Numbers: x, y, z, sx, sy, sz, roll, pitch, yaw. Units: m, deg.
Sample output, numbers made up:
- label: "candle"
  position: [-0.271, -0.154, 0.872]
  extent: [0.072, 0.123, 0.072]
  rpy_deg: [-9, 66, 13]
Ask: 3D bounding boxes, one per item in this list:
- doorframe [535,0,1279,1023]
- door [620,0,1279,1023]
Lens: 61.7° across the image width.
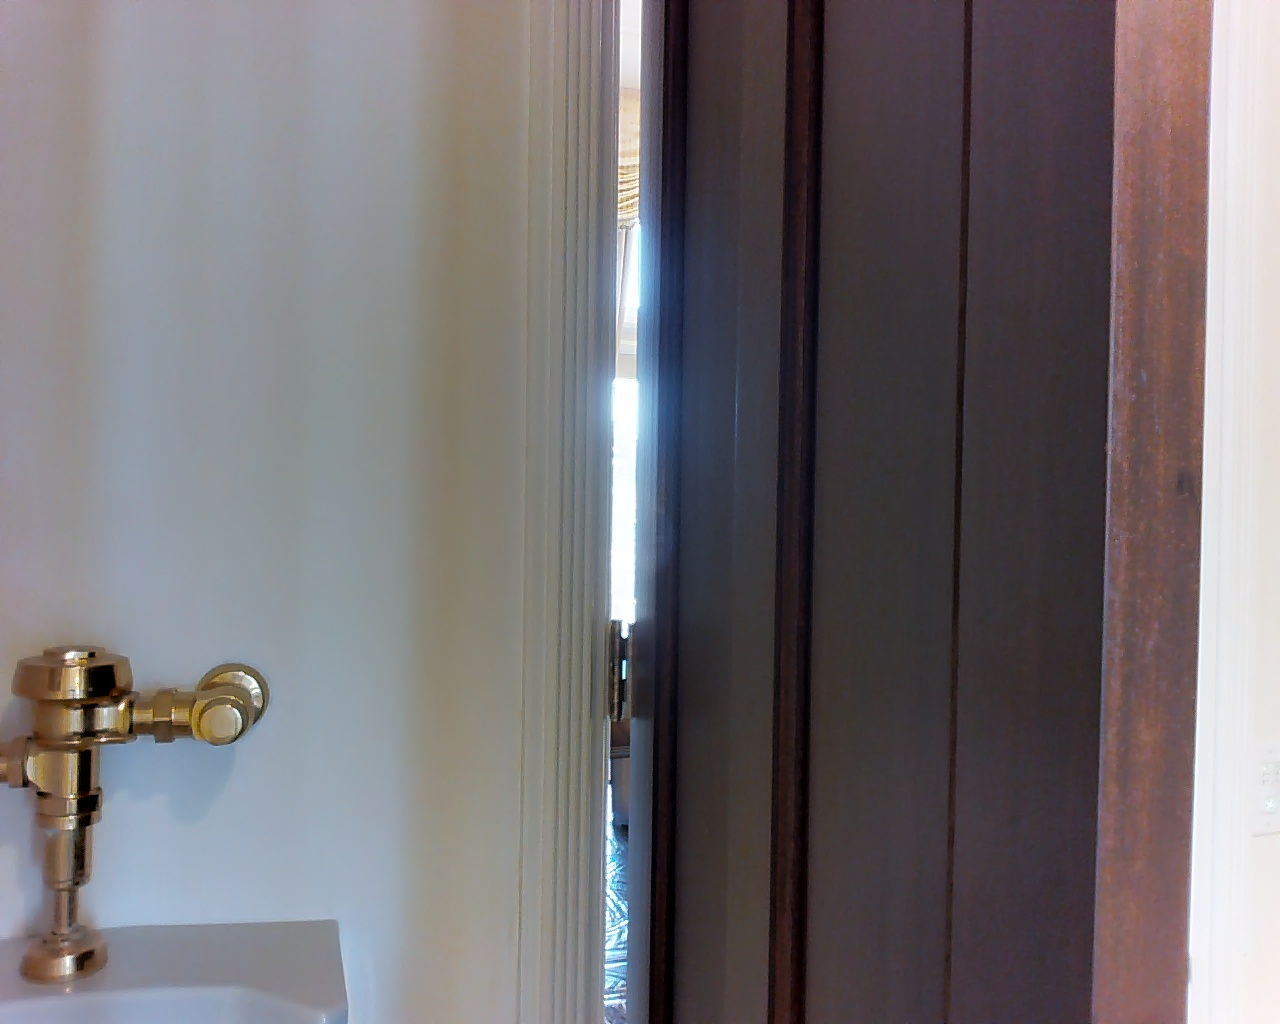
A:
- label: "doorframe"
  position: [0.350, 0.200, 1.280]
  extent: [0.910, 2.410, 0.220]
  rpy_deg: [1, 1, -18]
- label: "door"
  position: [0.110, 0.210, 0.760]
  extent: [0.100, 2.390, 0.780]
  rpy_deg: [1, 1, -11]
